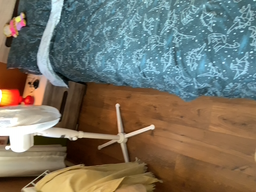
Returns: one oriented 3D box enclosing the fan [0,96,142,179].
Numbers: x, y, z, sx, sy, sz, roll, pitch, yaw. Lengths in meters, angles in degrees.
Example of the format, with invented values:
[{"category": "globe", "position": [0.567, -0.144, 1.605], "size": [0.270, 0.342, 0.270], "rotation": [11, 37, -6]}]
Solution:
[{"category": "fan", "position": [-0.410, 0.250, 1.390], "size": [0.430, 1.020, 0.330], "rotation": [9, 86, 41]}]
